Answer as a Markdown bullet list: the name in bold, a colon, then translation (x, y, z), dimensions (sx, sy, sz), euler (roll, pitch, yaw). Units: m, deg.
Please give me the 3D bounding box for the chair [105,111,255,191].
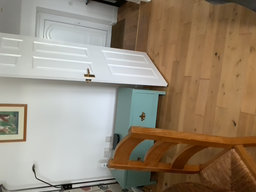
- **chair**: translation (0.460, 0.450, 1.200), dimensions (0.480, 1.010, 0.540), euler (119, 144, -45)
